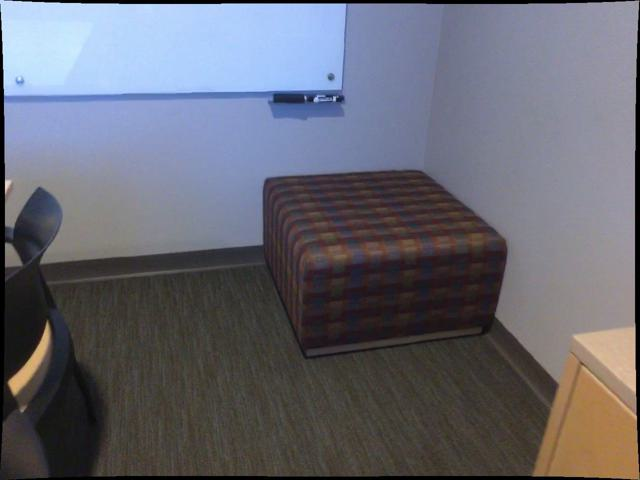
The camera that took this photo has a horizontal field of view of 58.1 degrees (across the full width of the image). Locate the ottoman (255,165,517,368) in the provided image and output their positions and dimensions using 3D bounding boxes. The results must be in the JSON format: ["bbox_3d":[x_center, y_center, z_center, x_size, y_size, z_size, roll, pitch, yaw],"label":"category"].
[{"bbox_3d":[0.200,0.050,2.370,0.789,0.491,0.750,-2,27,-17],"label":"ottoman"}]
